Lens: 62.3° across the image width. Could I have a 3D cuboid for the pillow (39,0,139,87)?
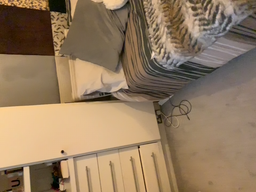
[{"bbox_3d":[-0.260,-0.500,1.710,0.240,0.590,0.570,17,146,41],"label":"pillow"}]
